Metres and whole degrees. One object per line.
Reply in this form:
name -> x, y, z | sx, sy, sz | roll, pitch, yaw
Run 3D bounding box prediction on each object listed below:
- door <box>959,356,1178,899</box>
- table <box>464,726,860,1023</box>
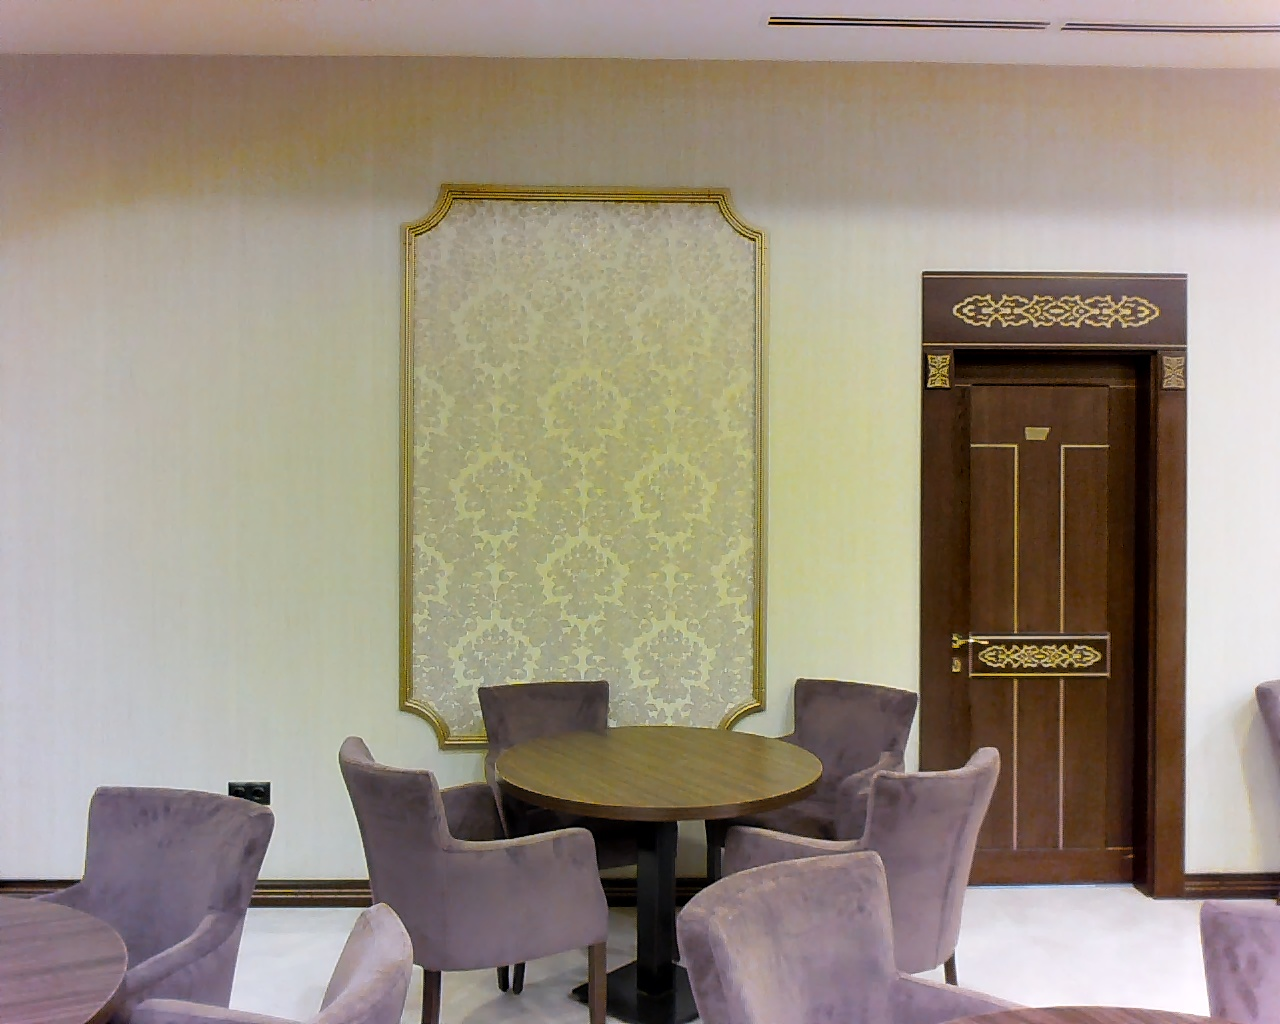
door -> 1.719, 0.460, 4.320 | 0.870, 2.161, 0.050 | 0, 0, -2
table -> 0.120, 1.151, 3.350 | 0.970, 0.720, 0.960 | 0, 0, 21
